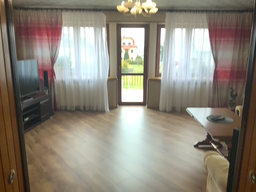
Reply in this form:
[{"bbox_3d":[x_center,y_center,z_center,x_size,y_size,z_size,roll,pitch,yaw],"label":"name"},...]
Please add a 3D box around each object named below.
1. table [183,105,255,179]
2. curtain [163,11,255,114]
[{"bbox_3d":[1.370,0.610,3.240,0.710,0.620,1.240,1,13,1],"label":"table"},{"bbox_3d":[2.040,-0.790,5.450,2.130,2.570,0.170,0,13,-2],"label":"curtain"}]
